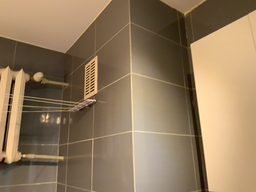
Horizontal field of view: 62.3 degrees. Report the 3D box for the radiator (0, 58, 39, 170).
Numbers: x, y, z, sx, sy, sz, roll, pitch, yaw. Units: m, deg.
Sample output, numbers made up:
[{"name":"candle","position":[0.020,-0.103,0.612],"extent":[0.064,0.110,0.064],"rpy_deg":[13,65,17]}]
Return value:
[{"name":"radiator","position":[-0.750,0.110,1.260],"extent":[0.310,0.620,0.210],"rpy_deg":[10,-20,-34]}]
